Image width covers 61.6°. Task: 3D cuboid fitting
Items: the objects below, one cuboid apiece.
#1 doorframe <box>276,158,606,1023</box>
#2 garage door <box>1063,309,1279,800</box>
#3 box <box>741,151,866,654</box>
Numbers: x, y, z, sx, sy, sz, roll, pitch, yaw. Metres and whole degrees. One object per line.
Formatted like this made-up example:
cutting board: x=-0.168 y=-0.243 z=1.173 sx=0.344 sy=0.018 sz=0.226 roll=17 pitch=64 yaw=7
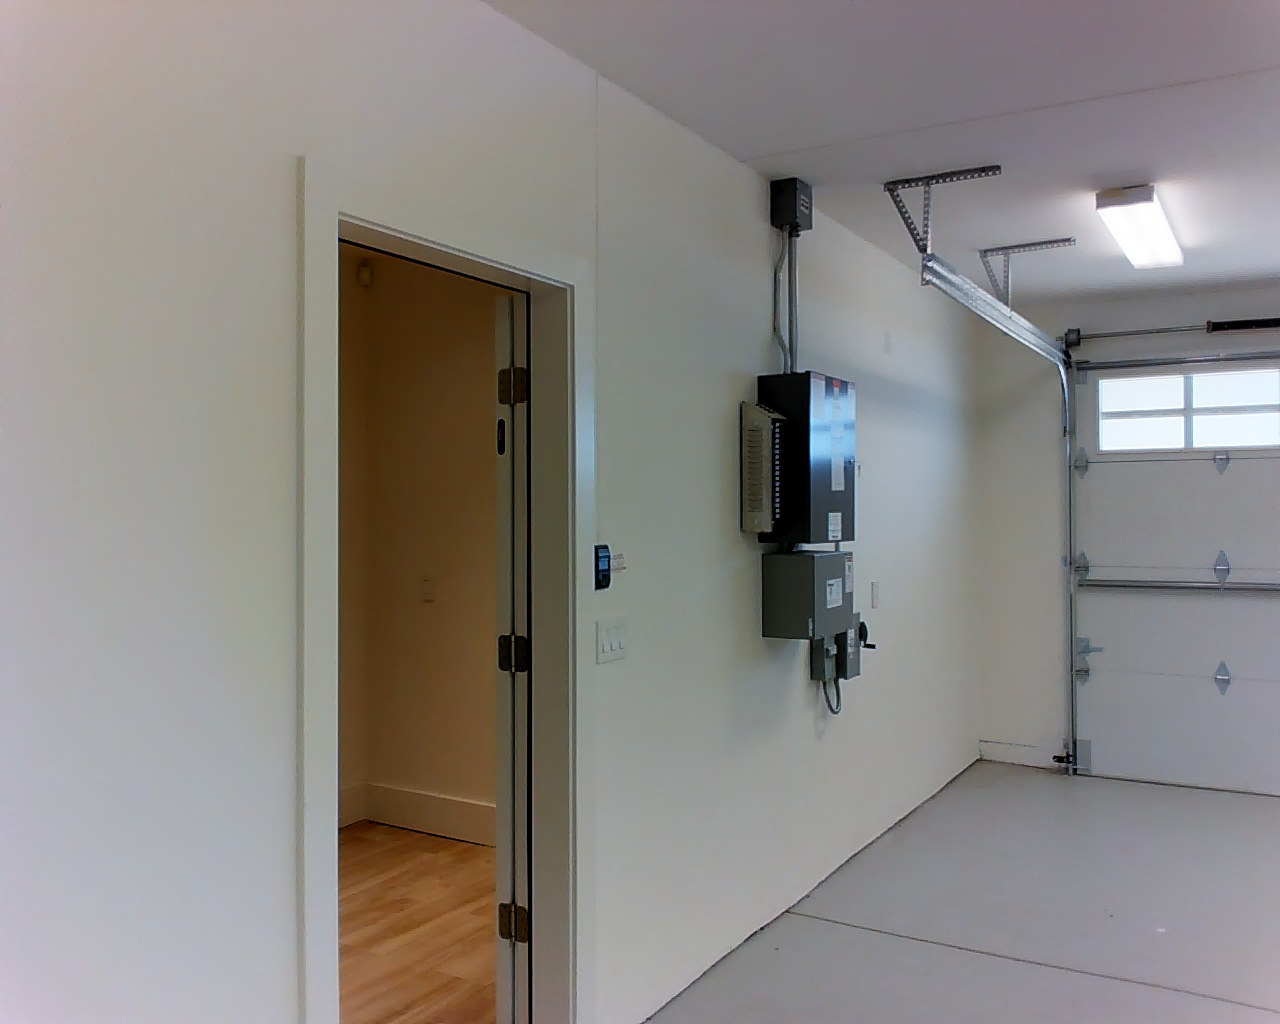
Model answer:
doorframe: x=-0.420 y=0.410 z=2.590 sx=0.150 sy=2.220 sz=1.000 roll=0 pitch=0 yaw=32
garage door: x=4.090 y=0.230 z=5.530 sx=3.580 sy=2.660 sz=0.150 roll=0 pitch=0 yaw=32
box: x=0.630 y=-0.380 z=4.050 sx=0.230 sy=1.740 sz=0.650 roll=0 pitch=0 yaw=31
